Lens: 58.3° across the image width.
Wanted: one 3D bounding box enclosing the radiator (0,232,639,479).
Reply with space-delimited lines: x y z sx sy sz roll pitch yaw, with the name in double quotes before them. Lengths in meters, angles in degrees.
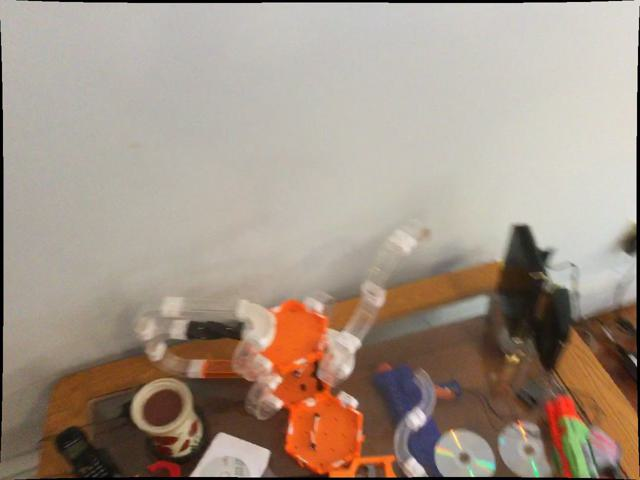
"radiator" 0.350 0.310 1.790 3.877 0.230 0.140 -16 47 -12
